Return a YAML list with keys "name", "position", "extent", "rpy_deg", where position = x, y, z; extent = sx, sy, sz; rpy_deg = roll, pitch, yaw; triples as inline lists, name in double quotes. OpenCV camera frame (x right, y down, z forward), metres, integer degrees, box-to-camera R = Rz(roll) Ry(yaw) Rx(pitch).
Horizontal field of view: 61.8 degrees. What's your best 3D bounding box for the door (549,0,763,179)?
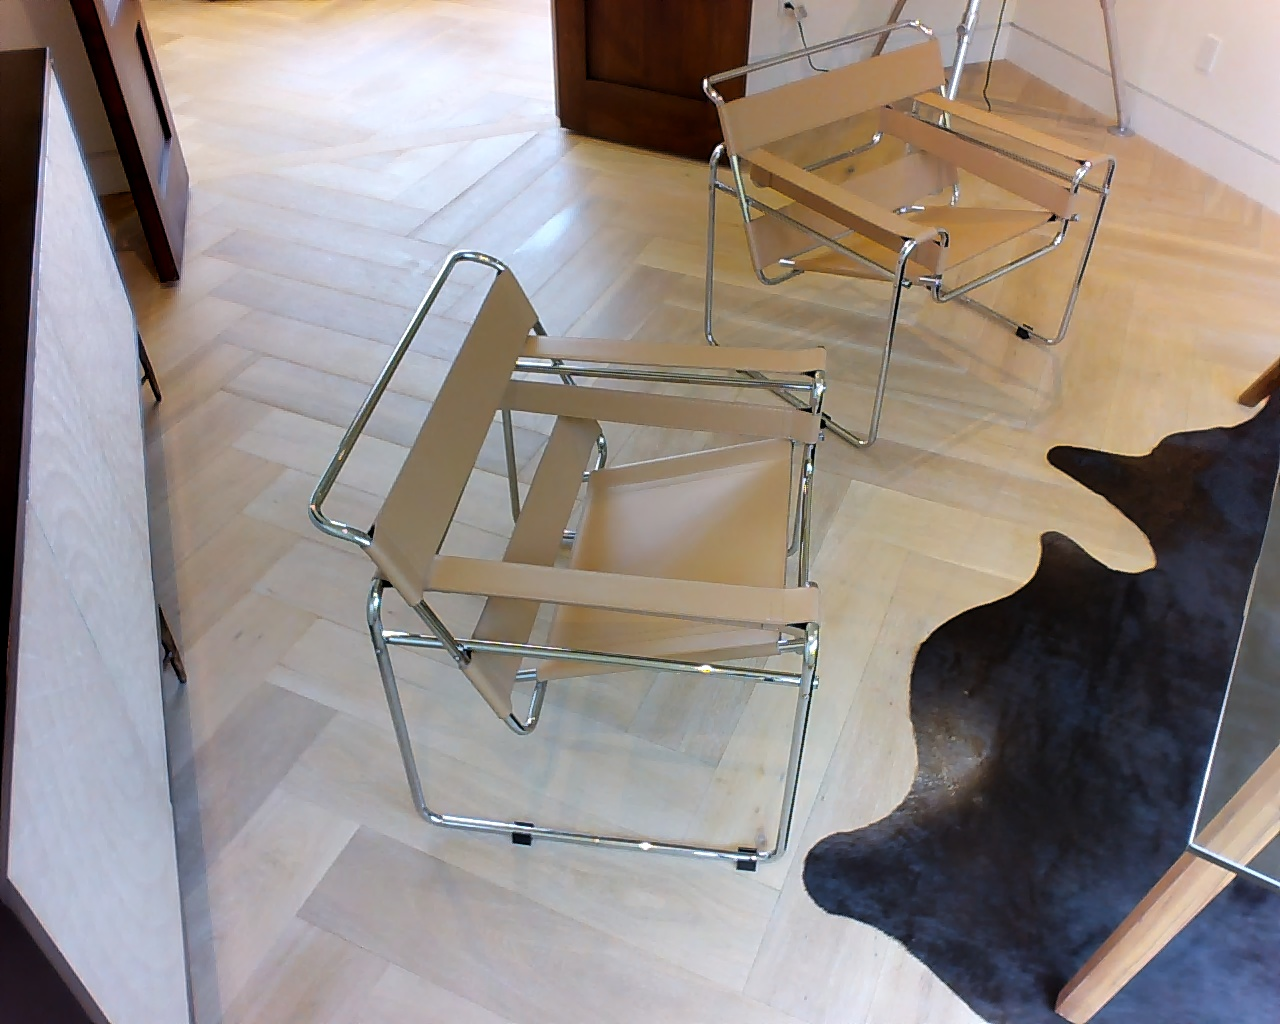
- name: "door"
  position: [0.040, -2.280, 3.260]
  extent: [0.790, 2.440, 0.100]
  rpy_deg: [21, 46, 21]
